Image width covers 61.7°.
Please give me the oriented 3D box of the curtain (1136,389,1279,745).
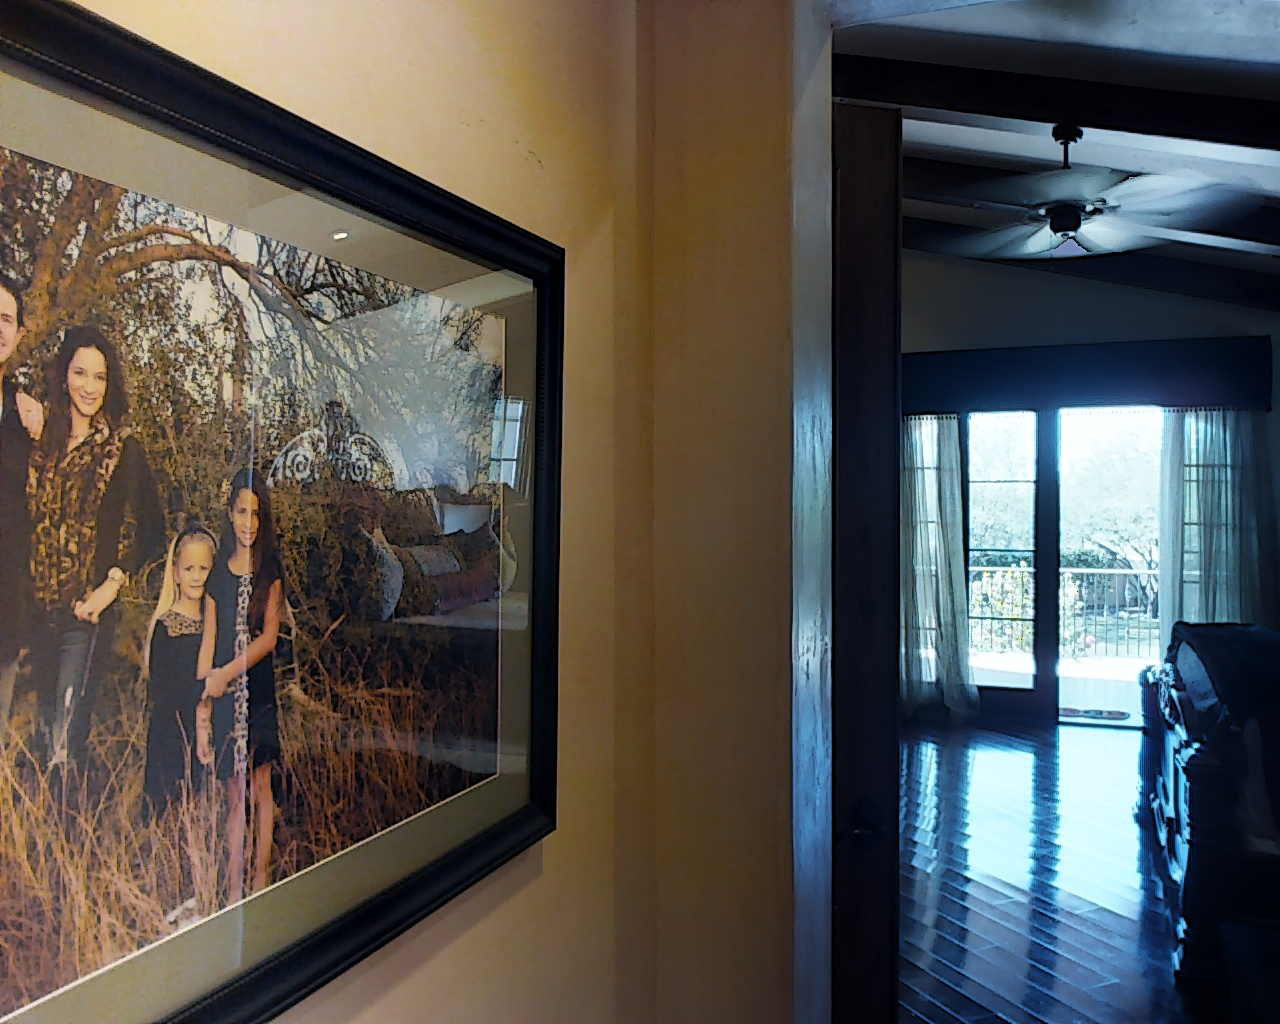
[{"bbox_3d":[3.850,0.350,7.130,0.960,2.280,0.330,0,1,22],"label":"curtain"}]
